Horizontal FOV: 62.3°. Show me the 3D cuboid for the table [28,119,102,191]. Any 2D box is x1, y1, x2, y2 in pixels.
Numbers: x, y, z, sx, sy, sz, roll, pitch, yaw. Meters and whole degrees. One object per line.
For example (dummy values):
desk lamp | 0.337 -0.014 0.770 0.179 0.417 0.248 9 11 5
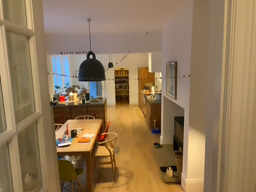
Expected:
table | -1.120 1.100 4.380 0.930 0.740 1.980 -1 9 -1
